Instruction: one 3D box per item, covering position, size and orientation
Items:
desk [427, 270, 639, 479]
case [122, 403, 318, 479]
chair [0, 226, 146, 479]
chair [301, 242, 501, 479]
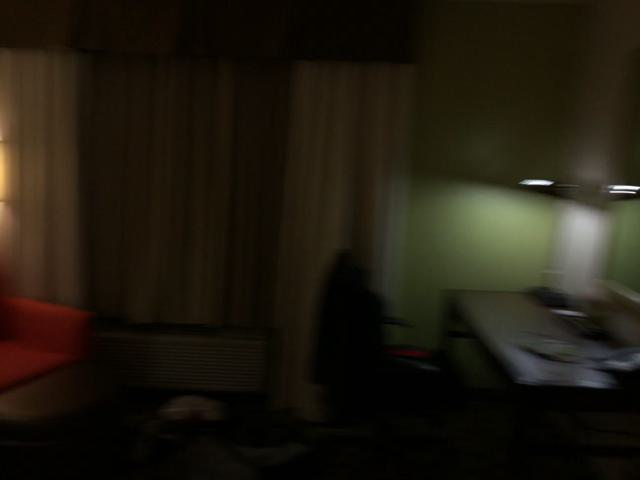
[{"bbox_3d":[0.940,0.720,2.510,0.660,0.870,1.360,2,10,0],"label":"desk"},{"bbox_3d":[-0.410,1.020,2.640,0.780,0.180,0.780,2,10,0],"label":"case"},{"bbox_3d":[-1.560,0.500,2.840,0.900,0.940,0.980,8,12,31],"label":"chair"},{"bbox_3d":[0.310,0.580,2.630,0.750,1.020,0.620,2,10,0],"label":"chair"}]
